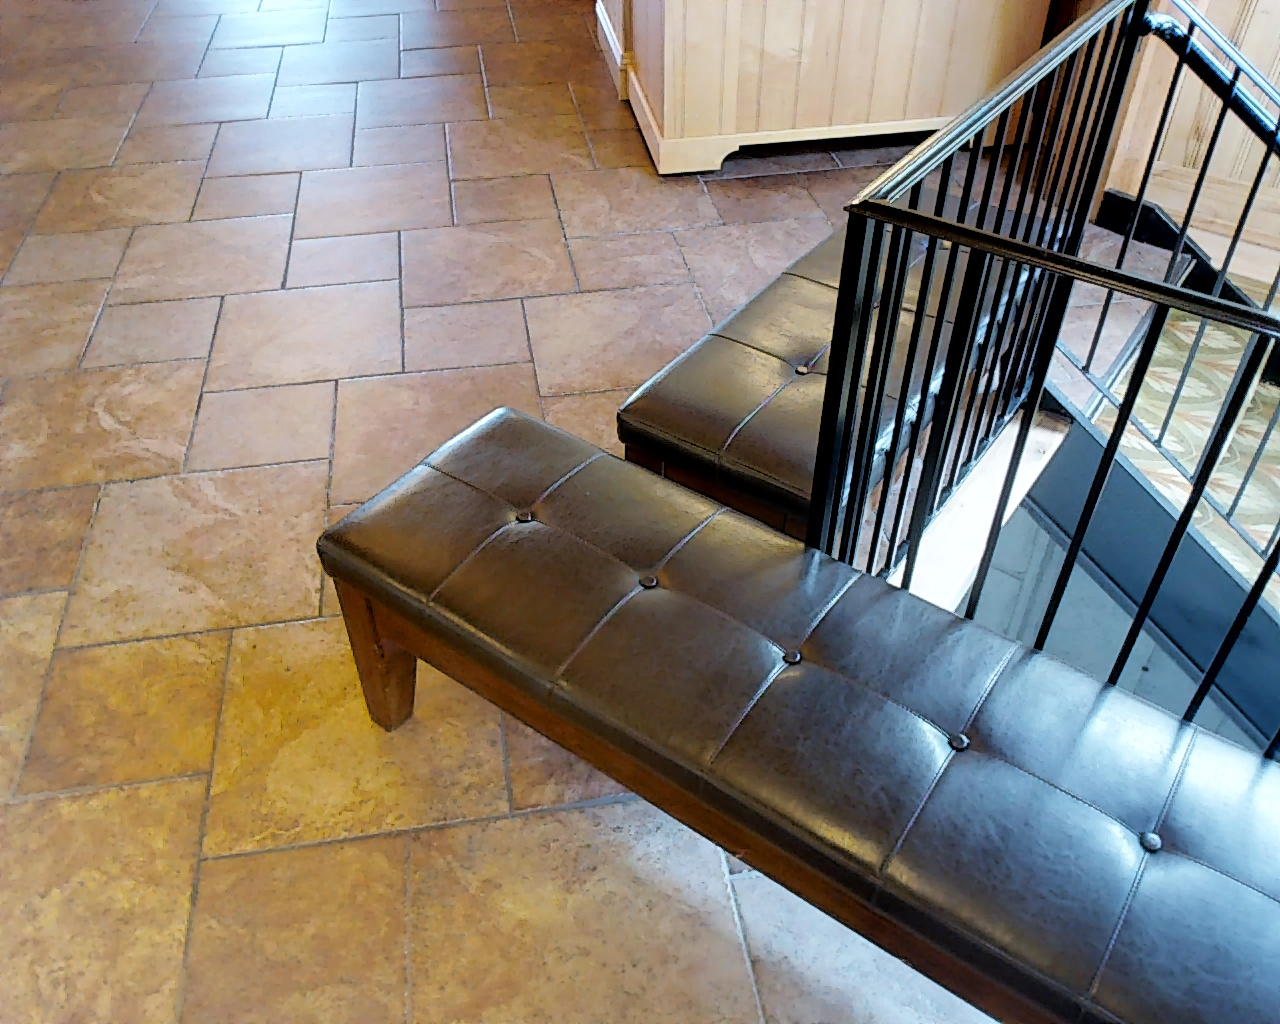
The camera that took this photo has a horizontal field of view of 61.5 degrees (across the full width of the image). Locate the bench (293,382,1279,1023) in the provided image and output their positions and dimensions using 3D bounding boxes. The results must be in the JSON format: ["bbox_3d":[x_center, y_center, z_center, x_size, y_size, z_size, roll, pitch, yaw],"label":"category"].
[{"bbox_3d":[0.410,0.440,1.540,1.940,0.450,0.530,25,47,26],"label":"bench"}]

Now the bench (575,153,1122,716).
[{"bbox_3d":[0.490,-0.260,2.330,0.560,0.490,1.280,25,48,26],"label":"bench"}]
